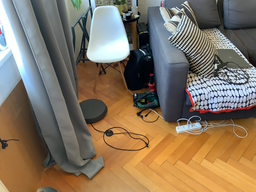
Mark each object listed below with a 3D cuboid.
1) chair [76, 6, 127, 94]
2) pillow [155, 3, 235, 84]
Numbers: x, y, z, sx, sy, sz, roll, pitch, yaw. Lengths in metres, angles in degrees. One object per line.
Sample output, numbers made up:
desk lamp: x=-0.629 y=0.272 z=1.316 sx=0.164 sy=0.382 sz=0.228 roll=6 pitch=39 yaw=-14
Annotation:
chair: x=-0.250 y=-0.510 z=2.390 sx=0.430 sy=0.800 sz=0.530 roll=-3 pitch=37 yaw=0
pillow: x=0.580 y=-0.600 z=2.180 sx=0.500 sy=0.400 sz=1.090 roll=-1 pitch=37 yaw=2
